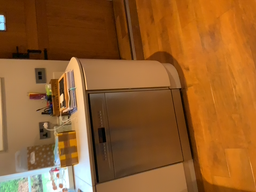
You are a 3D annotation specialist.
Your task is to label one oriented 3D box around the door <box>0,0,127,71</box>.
[{"bbox_3d":[-1.030,-0.780,2.340,0.200,2.020,0.990,-26,70,62],"label":"door"}]
